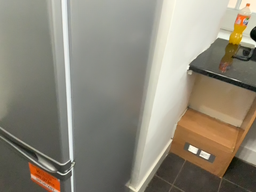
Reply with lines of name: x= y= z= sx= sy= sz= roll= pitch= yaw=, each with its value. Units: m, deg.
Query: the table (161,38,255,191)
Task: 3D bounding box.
table: x=1.280 y=0.280 z=1.700 sx=1.620 sy=0.900 sz=0.960 roll=24 pitch=36 yaw=24
